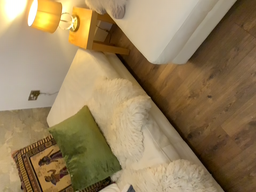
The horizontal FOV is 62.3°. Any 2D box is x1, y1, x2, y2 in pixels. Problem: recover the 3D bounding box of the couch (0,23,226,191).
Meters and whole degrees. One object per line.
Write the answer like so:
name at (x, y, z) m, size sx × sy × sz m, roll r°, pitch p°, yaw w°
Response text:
couch at (-0.160, 0.620, 1.460) m, size 1.050 × 0.740 × 2.050 m, roll -53°, pitch 58°, yaw 32°
